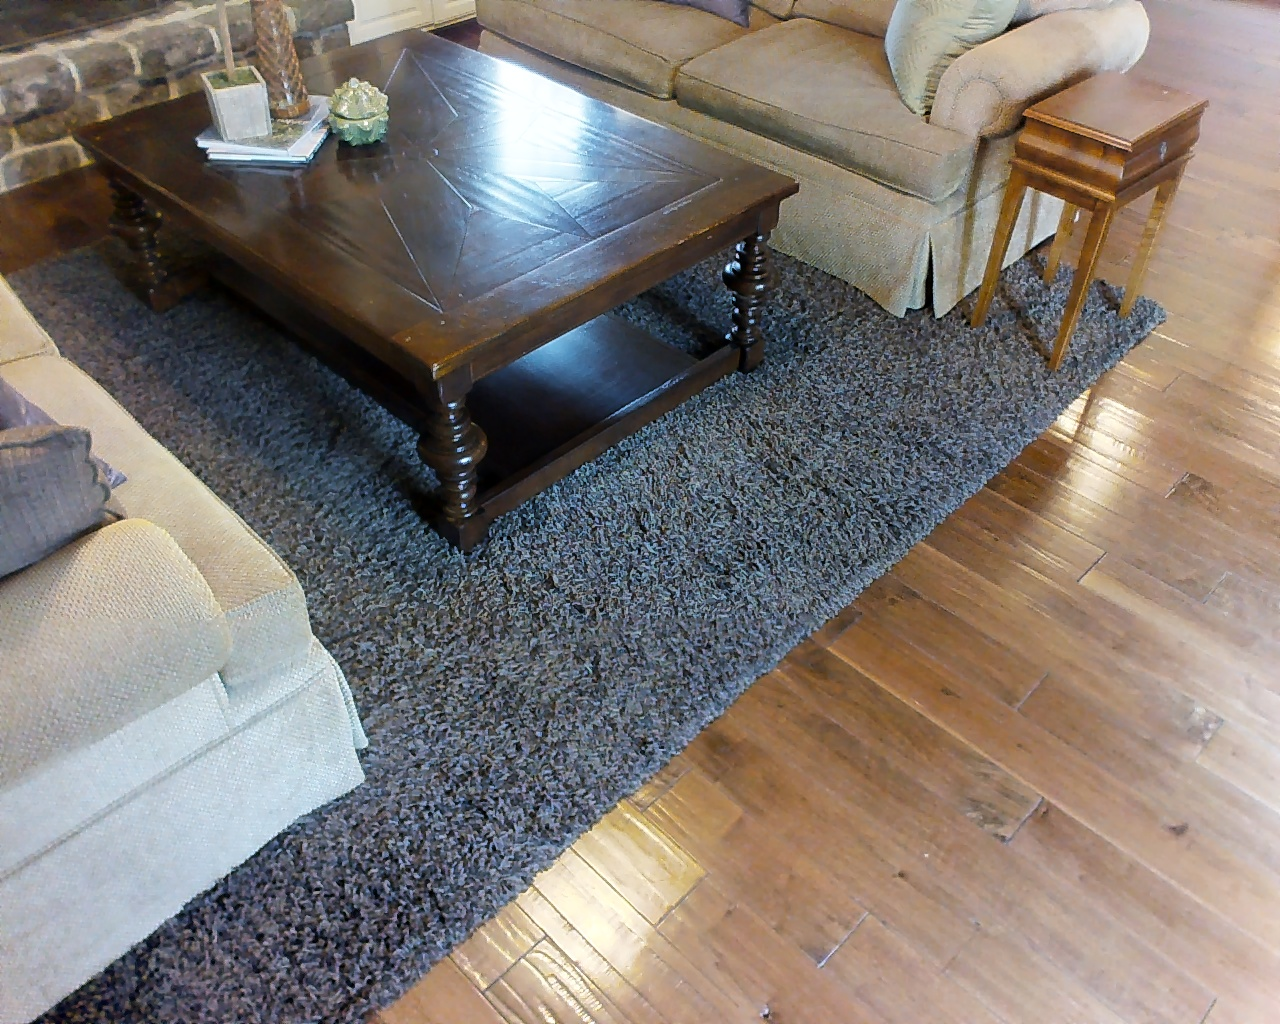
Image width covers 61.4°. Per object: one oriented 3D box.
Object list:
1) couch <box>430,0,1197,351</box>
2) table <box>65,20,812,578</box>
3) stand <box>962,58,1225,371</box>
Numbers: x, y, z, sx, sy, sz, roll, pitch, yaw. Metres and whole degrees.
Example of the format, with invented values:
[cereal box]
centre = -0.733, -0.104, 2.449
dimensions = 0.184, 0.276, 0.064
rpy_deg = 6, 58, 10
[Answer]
[couch]
centre = 0.410, -1.530, 3.350
dimensions = 1.080, 0.930, 2.100
rpy_deg = -33, 52, -31
[table]
centre = -0.500, -0.650, 2.660
dimensions = 1.440, 0.510, 1.050
rpy_deg = 34, 52, 31
[stand]
centre = 1.110, -0.740, 2.690
dimensions = 0.380, 0.600, 0.310
rpy_deg = -31, 51, -30
